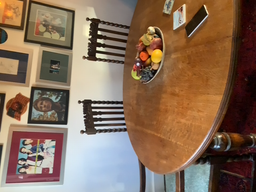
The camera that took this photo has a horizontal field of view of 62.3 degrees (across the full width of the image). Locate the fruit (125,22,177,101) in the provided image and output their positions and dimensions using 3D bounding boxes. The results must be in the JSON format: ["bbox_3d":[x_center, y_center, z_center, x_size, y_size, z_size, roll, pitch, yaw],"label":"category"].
[{"bbox_3d":[0.120,-0.220,1.300,0.310,0.090,0.400,-127,47,-57],"label":"fruit"}]

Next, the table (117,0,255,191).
[{"bbox_3d":[0.500,-0.200,1.450,1.100,0.750,1.360,164,109,-65],"label":"table"}]
